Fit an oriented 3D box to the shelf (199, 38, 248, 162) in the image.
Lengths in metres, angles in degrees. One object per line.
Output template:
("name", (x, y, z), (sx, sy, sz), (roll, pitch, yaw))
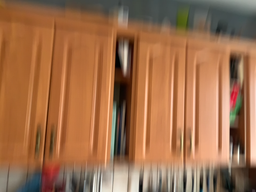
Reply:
("shelf", (0.650, 0.030, 1.470), (0.140, 0.770, 0.300), (4, -5, -17))
